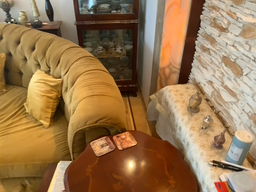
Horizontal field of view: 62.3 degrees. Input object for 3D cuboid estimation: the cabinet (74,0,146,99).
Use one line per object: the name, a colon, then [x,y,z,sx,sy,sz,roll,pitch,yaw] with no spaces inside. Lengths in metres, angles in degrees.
cabinet: [-0.180,-0.870,2.110,0.650,1.920,0.350,-4,35,-6]

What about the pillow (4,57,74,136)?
pillow: [-0.630,0.010,1.560,0.430,0.350,0.220,38,55,13]
